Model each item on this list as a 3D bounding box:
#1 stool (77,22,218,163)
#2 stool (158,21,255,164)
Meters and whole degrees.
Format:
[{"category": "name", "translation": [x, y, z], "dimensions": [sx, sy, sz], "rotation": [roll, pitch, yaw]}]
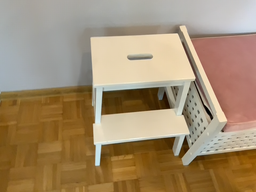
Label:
[{"category": "stool", "translation": [0.030, 0.000, 0.990], "dimensions": [0.450, 0.490, 0.440], "rotation": [-2, 56, -7]}, {"category": "stool", "translation": [0.710, -0.030, 1.100], "dimensions": [0.940, 0.460, 0.520], "rotation": [-4, 56, -8]}]
